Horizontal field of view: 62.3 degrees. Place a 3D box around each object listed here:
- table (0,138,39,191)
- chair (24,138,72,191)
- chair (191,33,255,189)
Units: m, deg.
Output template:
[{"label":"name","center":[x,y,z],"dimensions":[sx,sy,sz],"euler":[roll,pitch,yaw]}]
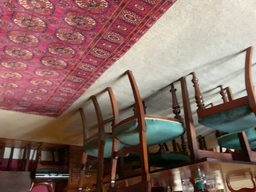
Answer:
[{"label":"table","center":[-1.880,0.980,2.930],"dimensions":[1.060,0.730,0.370],"euler":[15,147,-34]},{"label":"chair","center":[-1.220,1.180,3.230],"dimensions":[0.500,0.900,0.590],"euler":[14,148,-32]},{"label":"chair","center":[0.880,0.140,1.480],"dimensions":[0.480,0.880,0.500],"euler":[18,146,-38]}]
